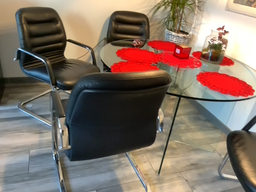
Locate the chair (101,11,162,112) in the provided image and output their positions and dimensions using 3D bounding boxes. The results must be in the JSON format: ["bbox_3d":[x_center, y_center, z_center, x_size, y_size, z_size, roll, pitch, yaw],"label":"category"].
[{"bbox_3d":[-0.010,-0.400,2.410,0.490,0.910,0.660,5,29,-7],"label":"chair"}]

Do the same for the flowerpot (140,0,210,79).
[{"bbox_3d":[0.550,-0.940,2.480,0.400,1.350,0.520,-9,33,-29],"label":"flowerpot"}]

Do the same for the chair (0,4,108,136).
[{"bbox_3d":[-0.660,-0.280,1.960,0.660,0.950,0.570,22,31,23],"label":"chair"}]

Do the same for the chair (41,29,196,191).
[{"bbox_3d":[-0.160,0.160,1.310,0.580,0.950,0.670,-6,32,-25],"label":"chair"}]
